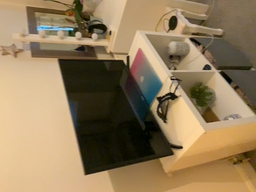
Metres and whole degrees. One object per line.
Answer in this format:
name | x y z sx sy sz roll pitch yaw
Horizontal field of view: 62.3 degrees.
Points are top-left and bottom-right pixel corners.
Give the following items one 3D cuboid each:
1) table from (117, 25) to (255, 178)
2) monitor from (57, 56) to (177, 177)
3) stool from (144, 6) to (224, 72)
table | 0.460 -0.020 1.410 0.800 0.760 0.450 65 146 36
monitor | -0.100 0.030 1.170 0.740 0.450 0.060 64 146 37
stool | 0.440 -0.450 1.760 0.260 0.430 0.430 66 147 35
